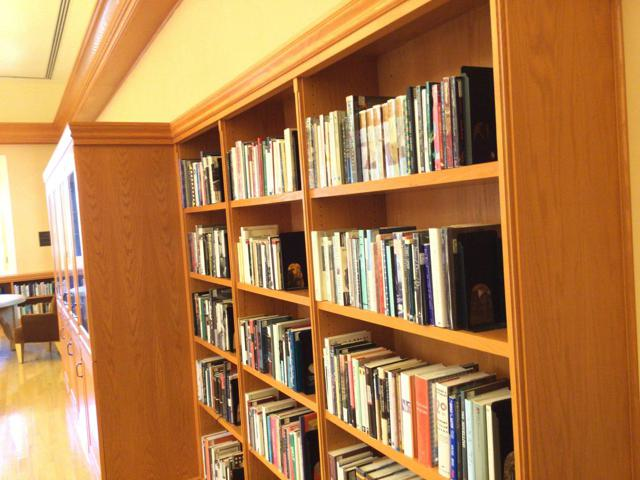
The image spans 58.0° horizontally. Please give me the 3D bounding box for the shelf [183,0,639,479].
[{"bbox_3d":[0.060,0.410,2.110,0.460,2.240,2.130,-4,2,-27],"label":"shelf"}]
